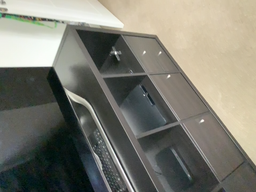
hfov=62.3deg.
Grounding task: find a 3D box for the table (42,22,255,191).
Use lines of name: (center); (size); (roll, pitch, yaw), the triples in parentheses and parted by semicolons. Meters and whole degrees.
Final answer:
table: (0.150, 0.270, 1.270); (0.460, 0.770, 1.450); (-51, 60, 40)
